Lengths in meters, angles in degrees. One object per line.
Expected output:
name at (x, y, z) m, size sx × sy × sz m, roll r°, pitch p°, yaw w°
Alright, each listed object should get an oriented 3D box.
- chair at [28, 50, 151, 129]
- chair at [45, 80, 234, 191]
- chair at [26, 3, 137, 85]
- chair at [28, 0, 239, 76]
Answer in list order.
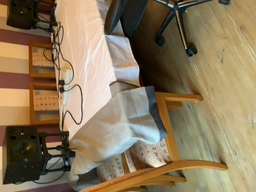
chair at (-0.370, -0.020, 2.000) m, size 0.510 × 0.960 × 0.450 m, roll -44°, pitch 53°, yaw 47°
chair at (0.050, 0.310, 1.340) m, size 0.530 × 0.950 × 0.560 m, roll -44°, pitch 53°, yaw 47°
chair at (-0.490, -0.470, 2.200) m, size 0.510 × 0.960 × 0.460 m, roll -44°, pitch 53°, yaw 47°
chair at (-0.020, -0.660, 1.410) m, size 0.650 × 1.070 × 0.710 m, roll -54°, pitch 46°, yaw 41°
